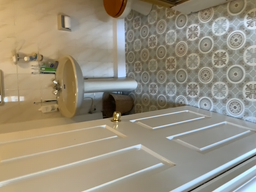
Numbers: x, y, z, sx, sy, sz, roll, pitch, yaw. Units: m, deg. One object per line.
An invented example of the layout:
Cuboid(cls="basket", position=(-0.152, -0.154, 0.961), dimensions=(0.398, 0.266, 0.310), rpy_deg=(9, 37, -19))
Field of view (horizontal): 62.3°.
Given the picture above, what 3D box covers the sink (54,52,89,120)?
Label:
Cuboid(cls="sink", position=(-0.570, -0.100, 2.110), dimensions=(0.460, 0.140, 0.600), rpy_deg=(4, 96, 52))
